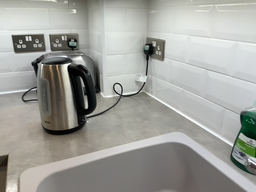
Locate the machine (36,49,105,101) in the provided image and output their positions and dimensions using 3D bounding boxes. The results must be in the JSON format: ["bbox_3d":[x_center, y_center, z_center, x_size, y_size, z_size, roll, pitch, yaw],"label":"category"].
[{"bbox_3d":[-0.290,-0.120,1.080,0.300,0.200,0.180,-8,23,-23],"label":"machine"}]
